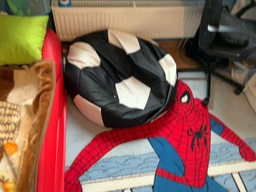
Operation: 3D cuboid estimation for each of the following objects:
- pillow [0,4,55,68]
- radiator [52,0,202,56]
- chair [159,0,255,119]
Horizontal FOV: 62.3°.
[{"bbox_3d":[-0.700,-0.390,1.370,0.370,0.180,0.400,-1,55,-9],"label":"pillow"},{"bbox_3d":[-0.010,-0.590,1.800,1.130,0.460,0.190,-4,55,-11],"label":"radiator"},{"bbox_3d":[0.730,-0.440,1.550,0.660,1.030,0.620,18,54,4],"label":"chair"}]
